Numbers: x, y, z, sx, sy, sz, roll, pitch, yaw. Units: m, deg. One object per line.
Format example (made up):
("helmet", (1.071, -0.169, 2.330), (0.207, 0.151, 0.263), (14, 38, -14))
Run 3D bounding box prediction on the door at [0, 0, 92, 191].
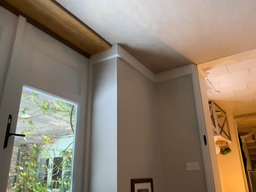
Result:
("door", (-0.870, 0.290, 1.510), (0.130, 2.010, 1.600), (-14, 157, 30))
